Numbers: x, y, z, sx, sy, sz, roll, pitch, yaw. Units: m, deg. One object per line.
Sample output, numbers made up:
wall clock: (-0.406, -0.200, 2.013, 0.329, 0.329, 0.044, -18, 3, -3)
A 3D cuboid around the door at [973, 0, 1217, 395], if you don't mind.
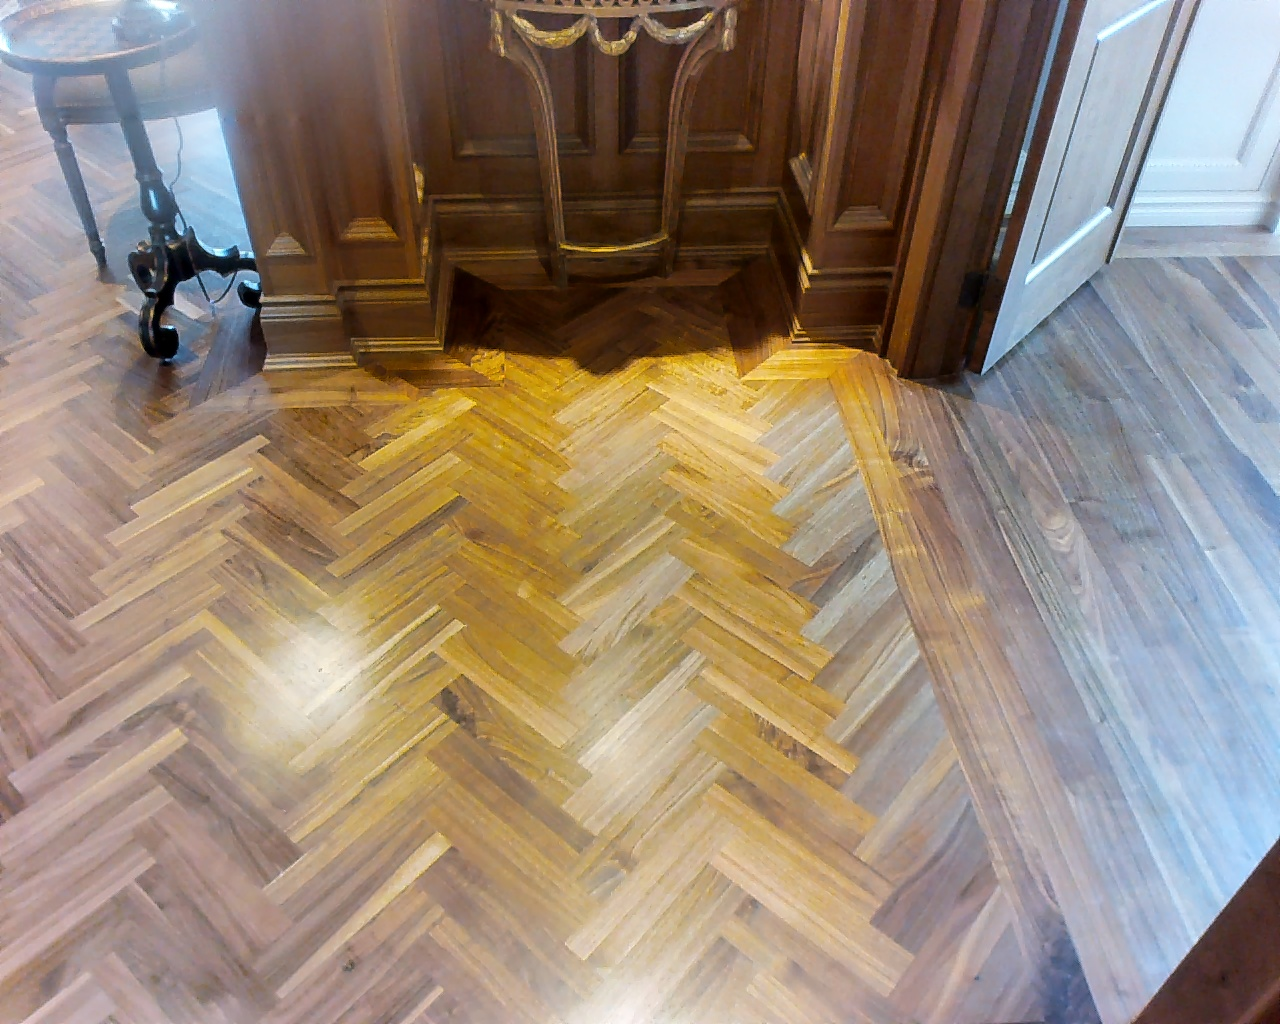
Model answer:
door: (1.050, -1.230, 1.980, 0.060, 2.060, 0.750, 30, 50, 27)
